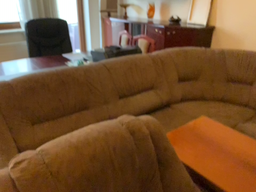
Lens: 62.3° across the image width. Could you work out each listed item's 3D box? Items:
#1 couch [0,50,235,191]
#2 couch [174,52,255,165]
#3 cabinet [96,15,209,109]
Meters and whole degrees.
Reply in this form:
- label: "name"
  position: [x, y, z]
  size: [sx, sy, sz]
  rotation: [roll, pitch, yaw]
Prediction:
- label: "couch"
  position: [-0.120, 0.250, 1.650]
  size: [1.580, 0.850, 0.900]
  rotation: [-17, 30, -32]
- label: "couch"
  position: [0.820, 0.070, 2.120]
  size: [0.590, 0.810, 0.790]
  rotation: [4, 25, 7]
- label: "cabinet"
  position: [0.220, -0.690, 3.450]
  size: [0.490, 1.040, 1.970]
  rotation: [-18, 31, -33]
